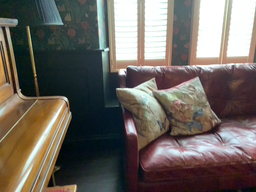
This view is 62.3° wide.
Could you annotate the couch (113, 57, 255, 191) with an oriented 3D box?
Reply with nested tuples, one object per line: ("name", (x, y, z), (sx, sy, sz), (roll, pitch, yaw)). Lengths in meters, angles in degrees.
("couch", (1.020, 0.190, 1.720), (2.210, 0.870, 0.930), (-3, 18, -6))

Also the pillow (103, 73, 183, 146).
("pillow", (0.120, 0.070, 1.540), (0.230, 0.390, 0.470), (39, 27, 23))

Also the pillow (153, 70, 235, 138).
("pillow", (0.500, 0.080, 1.640), (0.410, 0.410, 0.210), (17, 31, -32))
